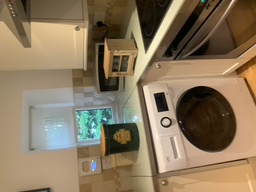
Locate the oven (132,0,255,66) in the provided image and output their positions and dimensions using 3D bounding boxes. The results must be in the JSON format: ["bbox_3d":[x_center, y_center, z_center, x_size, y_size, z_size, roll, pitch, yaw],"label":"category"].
[{"bbox_3d":[0.550,-0.590,1.190,0.590,0.900,0.610,121,143,-67],"label":"oven"}]

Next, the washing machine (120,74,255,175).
[{"bbox_3d":[0.470,0.260,1.750,0.690,0.890,0.610,120,144,-66],"label":"washing machine"}]
